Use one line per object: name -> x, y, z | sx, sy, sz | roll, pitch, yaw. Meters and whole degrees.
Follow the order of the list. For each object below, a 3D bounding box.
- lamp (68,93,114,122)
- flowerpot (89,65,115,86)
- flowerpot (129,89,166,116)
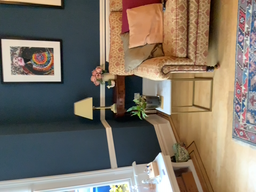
lamp -> -0.530, 0.150, 3.000 | 0.330, 0.600, 0.310 | -144, 55, -69
flowerpot -> -0.370, -0.290, 3.010 | 0.220, 0.330, 0.280 | -168, 78, -72
flowerpot -> 0.200, 0.060, 2.210 | 0.220, 0.310, 0.240 | -153, 63, -71
